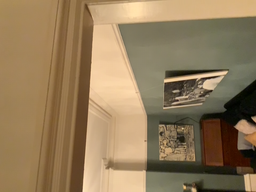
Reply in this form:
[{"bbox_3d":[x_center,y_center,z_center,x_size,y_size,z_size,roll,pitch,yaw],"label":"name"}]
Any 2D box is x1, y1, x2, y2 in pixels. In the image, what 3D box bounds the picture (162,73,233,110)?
[{"bbox_3d":[0.840,0.000,2.970,1.490,0.690,0.090,65,-154,-73],"label":"picture"}]
